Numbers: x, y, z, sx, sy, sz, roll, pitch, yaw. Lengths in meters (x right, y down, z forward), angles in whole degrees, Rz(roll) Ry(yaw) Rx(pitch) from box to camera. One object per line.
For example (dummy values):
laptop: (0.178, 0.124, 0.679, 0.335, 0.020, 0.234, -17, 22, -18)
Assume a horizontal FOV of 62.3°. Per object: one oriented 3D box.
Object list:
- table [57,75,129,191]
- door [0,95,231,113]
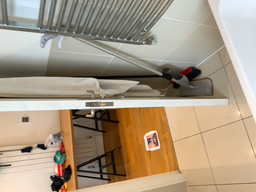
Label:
table: (-0.620, 0.590, 3.300, 0.830, 0.730, 1.590, -42, 54, 56)
door: (-0.360, 0.030, 1.490, 0.940, 1.980, 0.060, 1, 92, 63)
